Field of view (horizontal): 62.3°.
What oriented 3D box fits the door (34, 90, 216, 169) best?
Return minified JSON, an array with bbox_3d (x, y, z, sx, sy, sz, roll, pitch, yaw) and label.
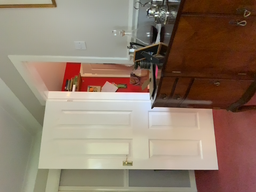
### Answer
[{"bbox_3d":[-0.020,0.380,2.460,0.090,1.970,0.870,97,174,-73],"label":"door"}]
